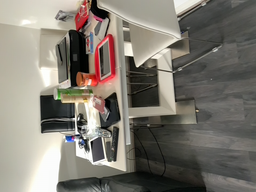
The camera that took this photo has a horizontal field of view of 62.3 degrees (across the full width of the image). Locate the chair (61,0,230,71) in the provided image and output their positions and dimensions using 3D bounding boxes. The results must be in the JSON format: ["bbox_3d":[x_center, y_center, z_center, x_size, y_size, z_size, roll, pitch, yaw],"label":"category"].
[{"bbox_3d":[0.130,-0.490,1.440,0.520,0.990,0.420,-22,71,54],"label":"chair"}]
